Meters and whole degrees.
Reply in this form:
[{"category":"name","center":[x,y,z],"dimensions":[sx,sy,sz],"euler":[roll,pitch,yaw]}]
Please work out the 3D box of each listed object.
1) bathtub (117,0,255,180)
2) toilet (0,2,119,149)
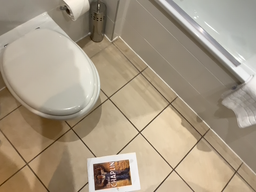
[{"category":"bathtub","center":[0.780,-0.130,1.340],"dimensions":[0.690,0.530,1.670],"euler":[-40,82,-21]},{"category":"toilet","center":[-0.390,-0.070,1.120],"dimensions":[0.370,0.460,0.520],"euler":[-40,82,-21]}]
